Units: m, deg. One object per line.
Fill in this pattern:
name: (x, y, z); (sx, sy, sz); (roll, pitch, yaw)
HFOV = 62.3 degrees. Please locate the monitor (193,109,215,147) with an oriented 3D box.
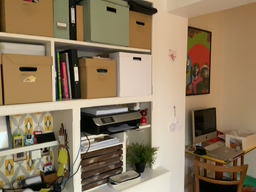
monitor: (0.980, 0.400, 2.720); (0.380, 0.440, 0.050); (-3, 6, -37)

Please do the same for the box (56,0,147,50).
box: (-0.190, -0.520, 1.560); (0.540, 0.280, 0.380); (-4, 6, -39)
